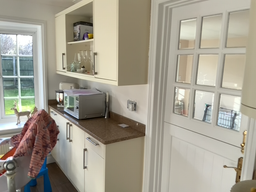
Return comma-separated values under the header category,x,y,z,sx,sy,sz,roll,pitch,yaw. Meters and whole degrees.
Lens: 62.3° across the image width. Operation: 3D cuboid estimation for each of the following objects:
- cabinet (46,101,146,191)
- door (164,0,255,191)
category,x,y,z,sx,sy,sz,roll,pitch,yaw
cabinet,-0.520,0.650,2.560,0.460,0.880,1.680,-5,11,-35
door,0.620,0.250,1.690,0.050,2.060,0.720,-5,12,-36
